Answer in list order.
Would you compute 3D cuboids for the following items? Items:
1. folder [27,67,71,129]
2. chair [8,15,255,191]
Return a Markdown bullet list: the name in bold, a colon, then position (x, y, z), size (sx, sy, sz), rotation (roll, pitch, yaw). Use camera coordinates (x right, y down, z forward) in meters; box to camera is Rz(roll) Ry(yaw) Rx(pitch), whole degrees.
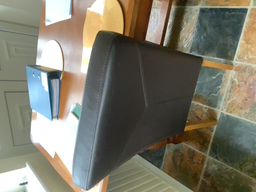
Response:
- **folder**: position (-0.510, 0.000, 1.330), size (0.400, 0.100, 0.340), rotation (5, 95, 45)
- **chair**: position (0.090, -0.010, 1.090), size (0.700, 1.060, 0.500), rotation (24, 108, 42)
